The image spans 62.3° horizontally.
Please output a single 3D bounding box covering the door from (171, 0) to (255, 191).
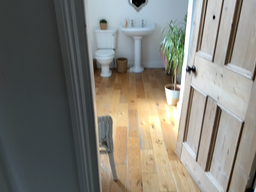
[{"bbox_3d":[0.520,-0.300,1.220,0.080,2.070,0.790,-7,24,-13],"label":"door"}]
